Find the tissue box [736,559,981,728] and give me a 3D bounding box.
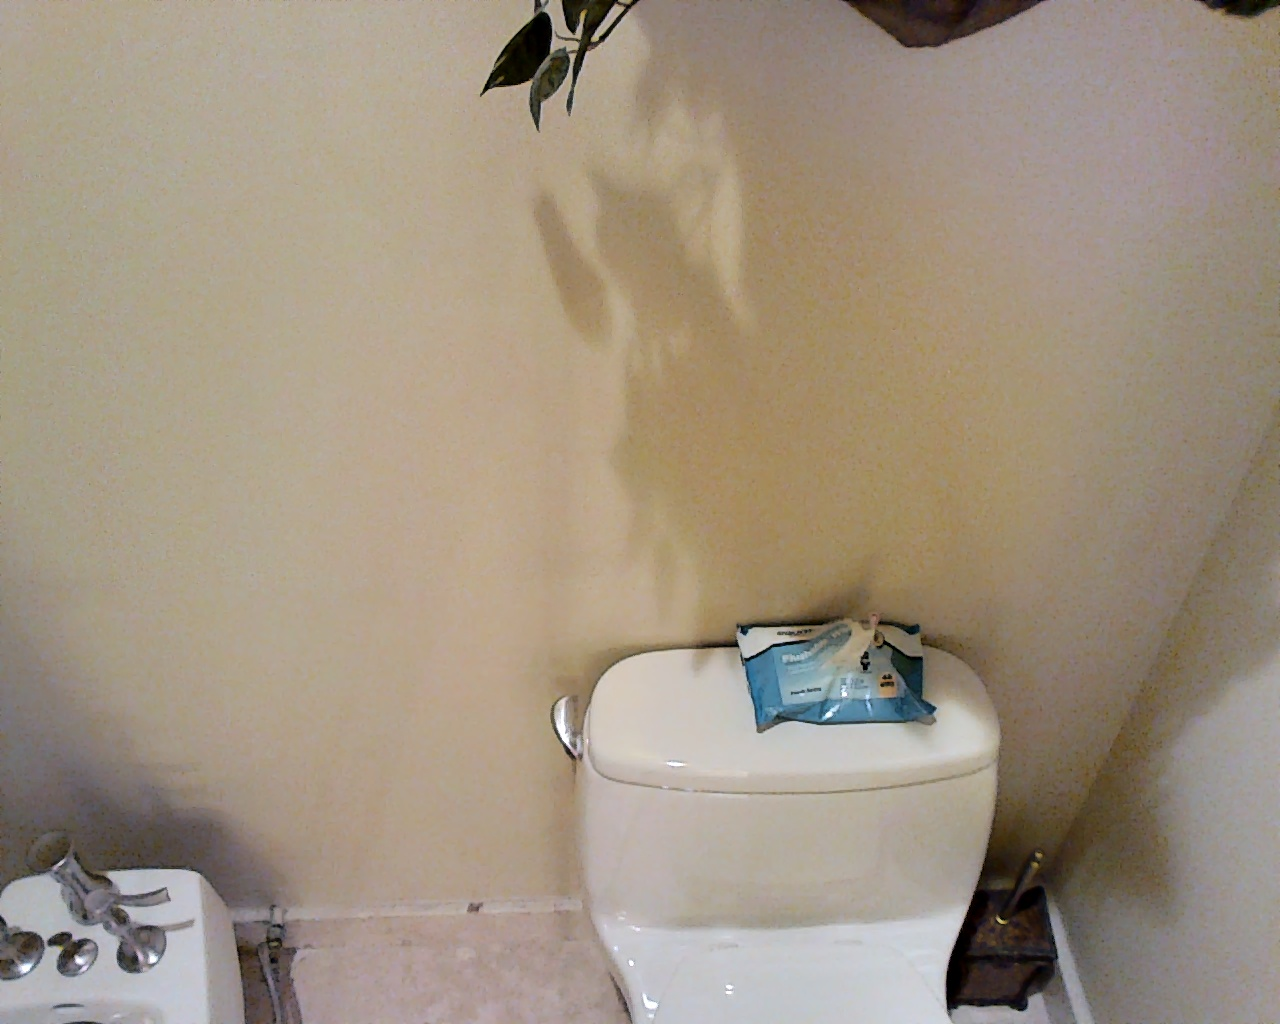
[{"bbox_3d":[0.210,0.130,1.070,0.210,0.090,0.130,-3,44,-1],"label":"tissue box"}]
